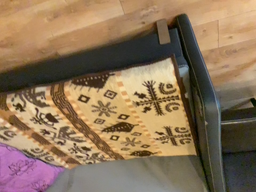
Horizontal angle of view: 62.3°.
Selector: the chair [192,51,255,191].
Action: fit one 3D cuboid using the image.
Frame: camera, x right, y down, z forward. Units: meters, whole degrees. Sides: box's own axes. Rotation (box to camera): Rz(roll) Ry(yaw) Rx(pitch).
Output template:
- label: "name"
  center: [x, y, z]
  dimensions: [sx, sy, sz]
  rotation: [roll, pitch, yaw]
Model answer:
- label: "chair"
  center: [0.780, 0.310, 1.370]
  dimensions: [0.470, 0.960, 0.650]
  rotation: [-12, 140, 14]
